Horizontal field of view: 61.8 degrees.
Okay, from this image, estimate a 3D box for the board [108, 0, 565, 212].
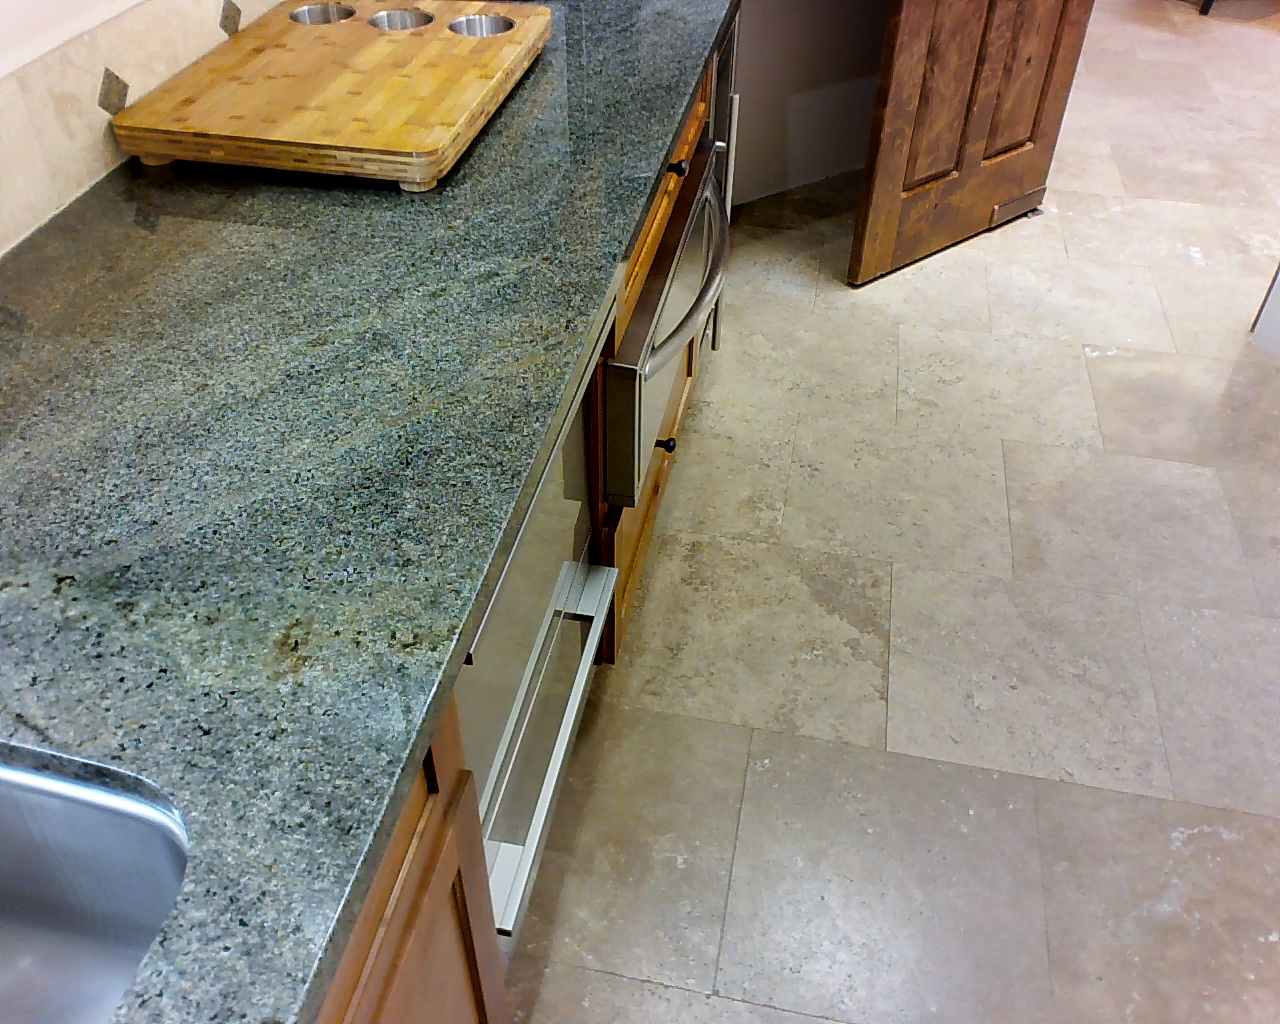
[{"bbox_3d":[-0.370,-0.580,1.460,0.410,0.060,0.570,8,41,8],"label":"board"}]
